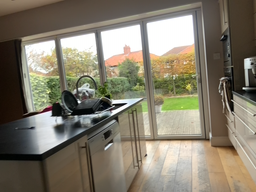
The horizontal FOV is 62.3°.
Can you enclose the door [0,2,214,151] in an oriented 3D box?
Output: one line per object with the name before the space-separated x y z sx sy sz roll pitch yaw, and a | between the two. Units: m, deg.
door | -0.800 -0.140 4.090 4.450 2.380 0.130 -4 6 15
